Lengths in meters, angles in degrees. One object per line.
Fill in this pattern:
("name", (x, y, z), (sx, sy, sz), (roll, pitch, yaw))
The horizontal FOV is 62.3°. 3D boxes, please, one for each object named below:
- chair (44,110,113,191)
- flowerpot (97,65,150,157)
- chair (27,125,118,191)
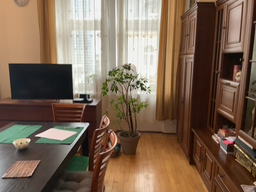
("chair", (-0.430, 0.620, 2.040), (0.520, 0.870, 0.450), (1, 10, 2))
("flowerpot", (-0.050, 0.170, 3.450), (0.730, 1.300, 0.880), (1, 10, 2))
("chair", (-0.350, 0.710, 1.580), (0.520, 0.860, 0.460), (1, 10, 2))
